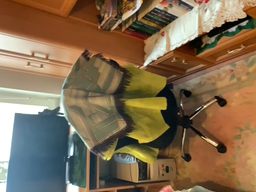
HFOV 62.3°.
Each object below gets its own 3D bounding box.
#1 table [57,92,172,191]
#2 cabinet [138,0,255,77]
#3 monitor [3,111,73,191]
[{"bbox_3d":[-0.140,0.680,2.060,0.660,0.870,1.230,-19,67,55],"label":"table"},{"bbox_3d":[0.620,-0.580,1.450,1.070,0.560,0.540,-21,66,54],"label":"cabinet"},{"bbox_3d":[-0.720,0.510,1.750,0.050,0.470,0.730,-21,63,55],"label":"monitor"}]
